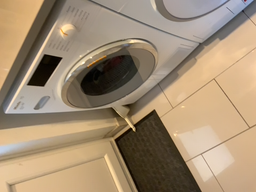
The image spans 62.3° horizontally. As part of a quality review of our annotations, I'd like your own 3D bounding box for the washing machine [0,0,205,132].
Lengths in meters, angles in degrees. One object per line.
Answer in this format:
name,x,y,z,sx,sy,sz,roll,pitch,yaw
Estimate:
washing machine,-0.220,-0.330,1.120,0.610,0.910,0.710,-44,64,33
